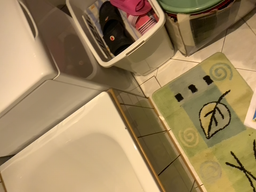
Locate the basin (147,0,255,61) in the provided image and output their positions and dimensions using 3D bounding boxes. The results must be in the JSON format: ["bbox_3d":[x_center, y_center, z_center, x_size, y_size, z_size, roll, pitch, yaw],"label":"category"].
[{"bbox_3d":[0.310,-0.520,1.040,0.400,0.400,0.470,-30,75,17],"label":"basin"}]
